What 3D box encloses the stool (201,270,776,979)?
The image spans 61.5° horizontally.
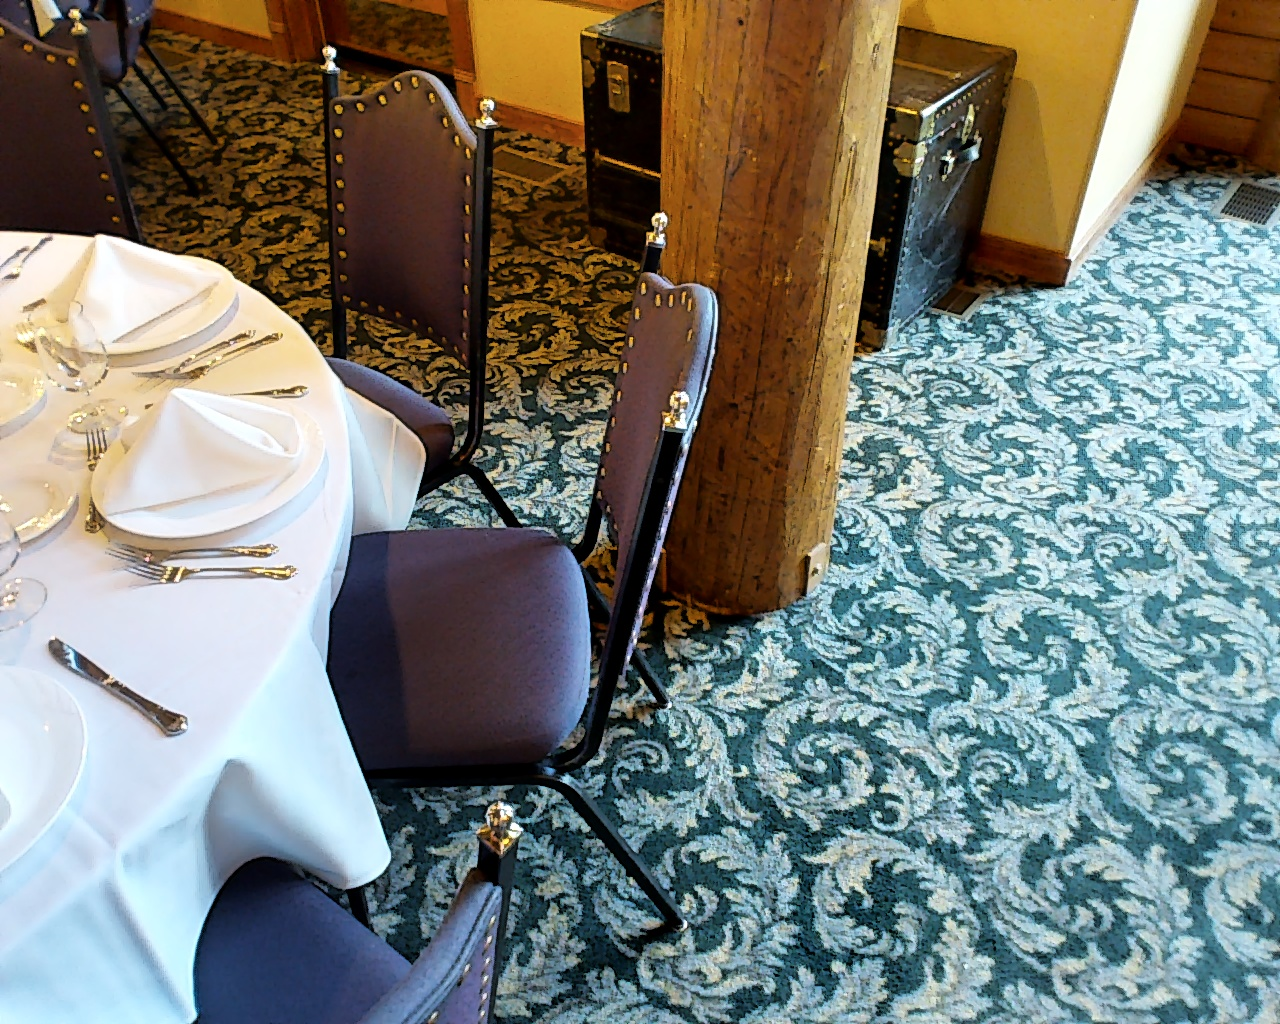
[{"bbox_3d":[-0.170,0.170,1.560,0.570,0.800,0.600,-4,41,-4],"label":"stool"}]

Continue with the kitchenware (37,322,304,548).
[{"bbox_3d":[-0.540,-0.100,1.280,0.240,0.100,0.270,-7,42,-8],"label":"kitchenware"}]

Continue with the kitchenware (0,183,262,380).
[{"bbox_3d":[-0.750,-0.340,1.540,0.280,0.100,0.270,29,49,29],"label":"kitchenware"}]
